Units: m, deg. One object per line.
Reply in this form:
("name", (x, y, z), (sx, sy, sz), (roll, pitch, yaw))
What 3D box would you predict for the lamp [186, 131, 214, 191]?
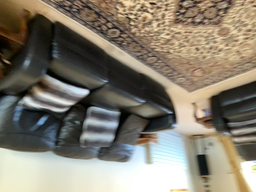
("lamp", (1.880, 1.980, 5.450), (0.310, 2.060, 0.400), (-21, 150, 34))
